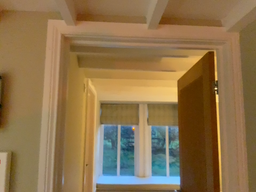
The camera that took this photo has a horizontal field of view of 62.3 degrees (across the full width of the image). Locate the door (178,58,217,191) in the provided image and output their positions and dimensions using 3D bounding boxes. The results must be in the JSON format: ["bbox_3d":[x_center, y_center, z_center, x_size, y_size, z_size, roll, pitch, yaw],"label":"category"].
[{"bbox_3d":[0.460,0.760,1.500,0.030,1.880,0.780,1,-7,1],"label":"door"}]
